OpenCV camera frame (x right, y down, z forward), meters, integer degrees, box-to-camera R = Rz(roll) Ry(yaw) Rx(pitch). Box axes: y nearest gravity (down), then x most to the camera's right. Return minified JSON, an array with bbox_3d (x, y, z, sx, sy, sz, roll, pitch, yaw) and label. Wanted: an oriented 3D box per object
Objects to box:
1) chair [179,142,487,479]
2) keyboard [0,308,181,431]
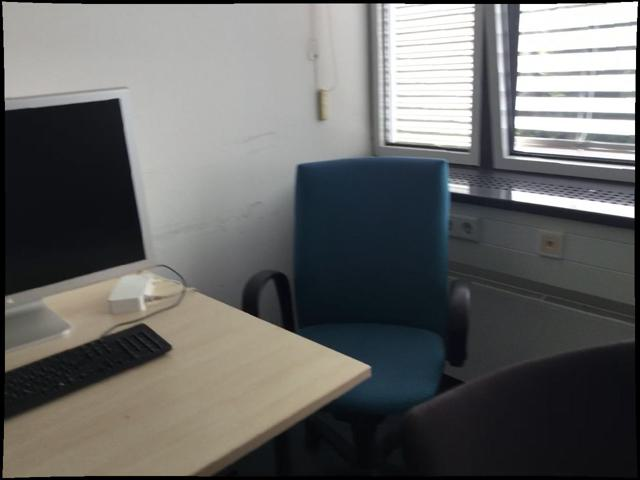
[{"bbox_3d":[0.120,0.270,1.670,0.639,0.941,0.730,0,21,13],"label":"chair"},{"bbox_3d":[-0.519,0.260,1.160,0.450,0.040,0.160,-22,26,-39],"label":"keyboard"}]
